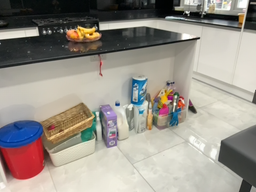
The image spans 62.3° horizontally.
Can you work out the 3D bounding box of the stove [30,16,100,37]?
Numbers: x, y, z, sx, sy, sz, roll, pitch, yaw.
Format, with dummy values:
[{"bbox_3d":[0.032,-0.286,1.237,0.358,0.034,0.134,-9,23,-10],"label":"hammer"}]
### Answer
[{"bbox_3d":[-1.000,-1.120,3.360,0.900,0.170,0.650,-15,29,-27],"label":"stove"}]
